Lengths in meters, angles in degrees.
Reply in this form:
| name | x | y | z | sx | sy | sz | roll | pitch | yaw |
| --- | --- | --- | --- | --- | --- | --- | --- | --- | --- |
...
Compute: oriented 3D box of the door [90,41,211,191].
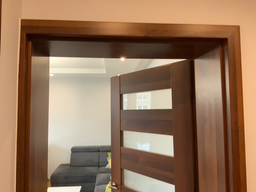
| name | x | y | z | sx | sy | sz | roll | pitch | yaw |
| --- | --- | --- | --- | --- | --- | --- | --- | --- | --- |
| door | 0.080 | 0.760 | 1.430 | 0.920 | 2.070 | 0.120 | -3 | -4 | 42 |
